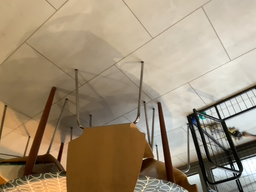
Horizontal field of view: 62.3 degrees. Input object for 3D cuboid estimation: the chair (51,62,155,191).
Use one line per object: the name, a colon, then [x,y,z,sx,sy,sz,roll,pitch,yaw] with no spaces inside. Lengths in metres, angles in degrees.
chair: [-0.110,0.280,1.310,0.420,0.870,0.530,-2,137,0]
